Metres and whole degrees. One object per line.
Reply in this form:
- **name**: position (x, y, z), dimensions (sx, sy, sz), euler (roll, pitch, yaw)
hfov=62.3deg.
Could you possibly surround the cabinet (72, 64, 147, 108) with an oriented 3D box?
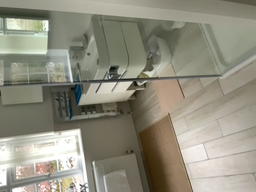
- **cabinet**: position (-0.260, -0.150, 2.920), dimensions (0.390, 0.890, 0.440), euler (133, 128, -59)

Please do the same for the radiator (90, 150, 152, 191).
- **radiator**: position (-0.060, 1.230, 2.800), dimensions (0.130, 0.730, 0.870), euler (132, 129, -58)

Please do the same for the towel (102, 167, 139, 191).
- **towel**: position (-0.090, 1.150, 2.680), dimensions (0.110, 0.400, 0.390), euler (132, 129, -58)
